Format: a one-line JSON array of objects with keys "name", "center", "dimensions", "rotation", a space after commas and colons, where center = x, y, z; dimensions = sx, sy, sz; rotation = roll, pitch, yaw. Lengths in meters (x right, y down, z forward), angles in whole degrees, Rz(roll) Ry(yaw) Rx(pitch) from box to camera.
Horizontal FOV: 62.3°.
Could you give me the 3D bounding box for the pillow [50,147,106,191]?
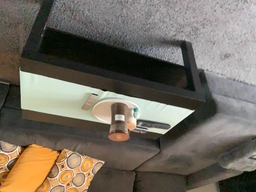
[{"name": "pillow", "center": [-0.470, 0.730, 2.000], "dimensions": [0.380, 0.350, 0.200], "rotation": [-6, 150, -40]}]
